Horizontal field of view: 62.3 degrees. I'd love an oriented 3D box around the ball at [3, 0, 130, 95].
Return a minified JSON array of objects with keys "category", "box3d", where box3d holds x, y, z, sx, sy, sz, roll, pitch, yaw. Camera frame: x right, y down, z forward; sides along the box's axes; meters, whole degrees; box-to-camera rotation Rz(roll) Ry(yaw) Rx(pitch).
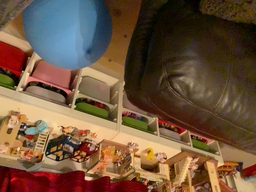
[{"category":"ball","box3d":[-0.310,-0.390,1.170,0.450,0.470,0.470,24,135,-26]}]
